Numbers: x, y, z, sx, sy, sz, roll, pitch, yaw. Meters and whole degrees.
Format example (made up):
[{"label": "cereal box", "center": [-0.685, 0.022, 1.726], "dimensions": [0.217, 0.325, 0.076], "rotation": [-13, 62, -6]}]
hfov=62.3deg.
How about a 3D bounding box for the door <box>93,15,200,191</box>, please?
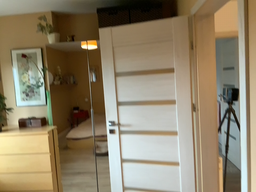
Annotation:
[{"label": "door", "center": [0.190, 0.410, 2.040], "dimensions": [0.930, 2.150, 0.120], "rotation": [-2, 6, 19]}]
